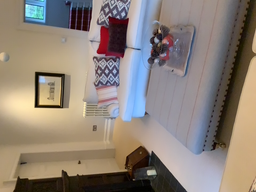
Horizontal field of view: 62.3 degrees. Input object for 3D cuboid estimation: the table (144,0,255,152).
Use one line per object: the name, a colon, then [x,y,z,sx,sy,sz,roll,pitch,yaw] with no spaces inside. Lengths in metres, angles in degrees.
table: [0.660,-0.480,2.130,1.080,0.340,1.680,-136,51,-64]
